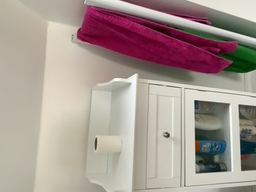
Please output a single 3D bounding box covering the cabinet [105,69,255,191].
[{"bbox_3d":[0.460,0.200,1.100,0.340,1.070,0.440,157,118,-66],"label":"cabinet"}]
